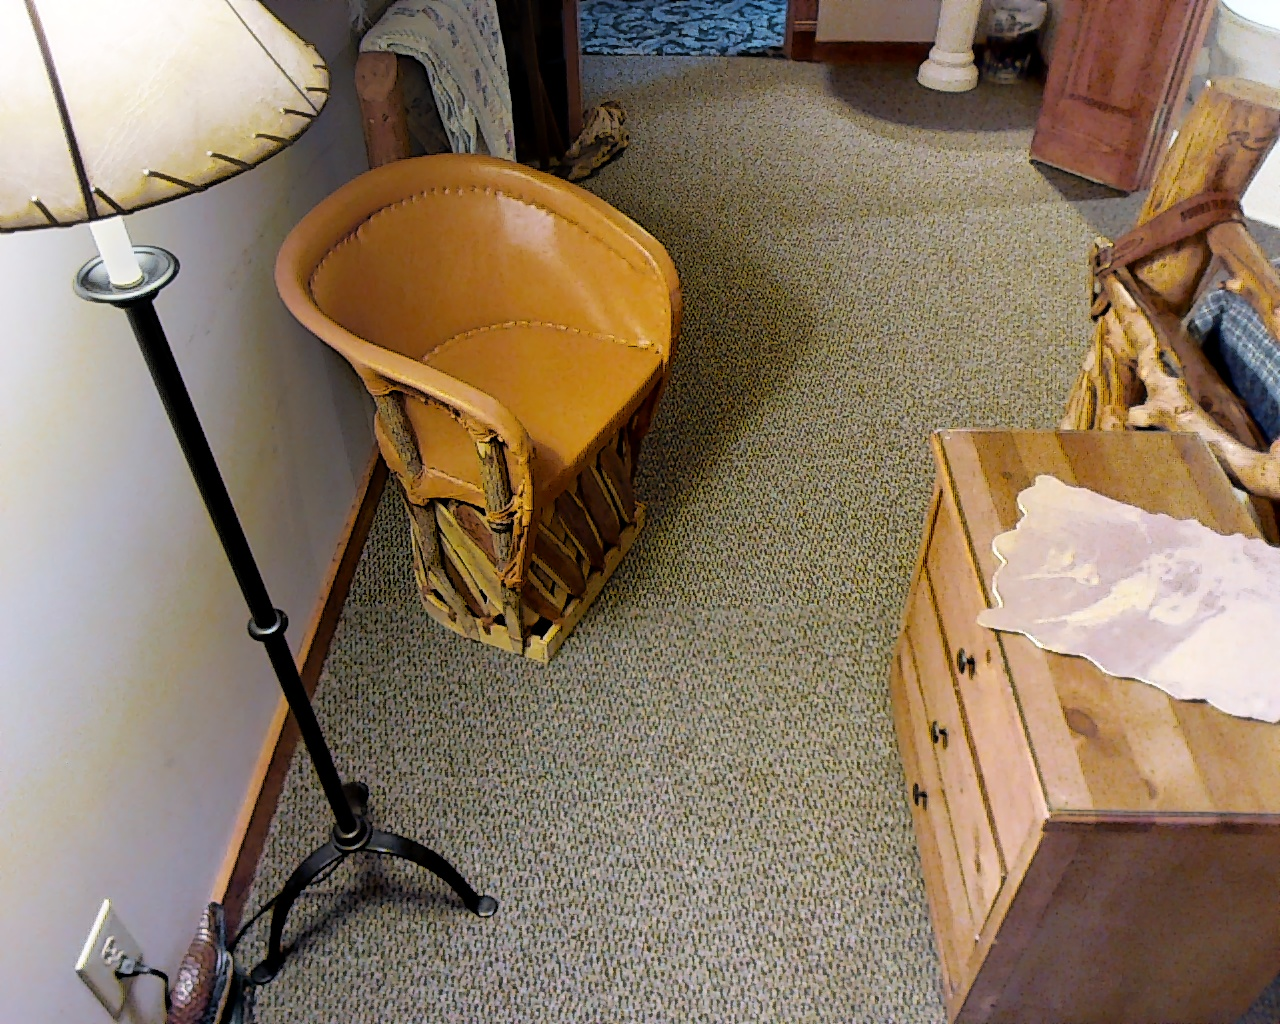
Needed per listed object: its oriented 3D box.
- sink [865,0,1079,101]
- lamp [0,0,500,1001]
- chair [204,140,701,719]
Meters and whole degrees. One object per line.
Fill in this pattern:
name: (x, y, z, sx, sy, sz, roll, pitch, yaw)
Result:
sink: (1.240, -2.030, 3.960, 0.650, 0.850, 0.480, 1, 42, 2)
lamp: (-0.420, -0.010, 1.170, 0.340, 1.530, 0.410, 1, 42, 2)
chair: (-0.280, -0.170, 2.020, 0.530, 0.730, 0.650, 20, 46, 21)
